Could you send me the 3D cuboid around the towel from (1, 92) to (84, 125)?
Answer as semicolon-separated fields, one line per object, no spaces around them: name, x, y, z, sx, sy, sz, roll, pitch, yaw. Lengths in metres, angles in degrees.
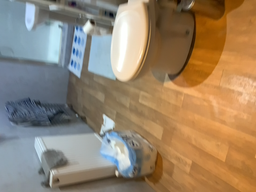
towel;-1.180;0.140;2.860;0.930;0.850;0.140;24;107;53
